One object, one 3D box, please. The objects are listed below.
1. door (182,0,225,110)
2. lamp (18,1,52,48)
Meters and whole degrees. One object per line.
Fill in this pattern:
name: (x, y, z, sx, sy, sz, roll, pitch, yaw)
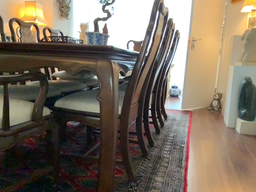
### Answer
door: (1.160, -0.820, 3.200, 0.690, 2.040, 0.070, -4, 12, -36)
lamp: (-1.490, -1.130, 3.410, 0.360, 0.670, 0.330, 6, 10, 14)
